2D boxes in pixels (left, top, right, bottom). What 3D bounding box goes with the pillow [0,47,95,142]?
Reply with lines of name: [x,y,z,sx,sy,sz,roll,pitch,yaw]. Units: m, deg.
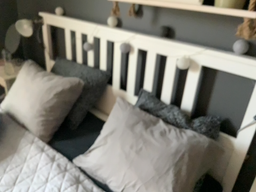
pillow: [-0.580,-0.010,1.360,0.570,0.440,0.240,27,76,35]

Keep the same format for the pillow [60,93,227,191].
pillow: [0.050,0.280,0.960,0.570,0.310,0.410,24,32,33]
